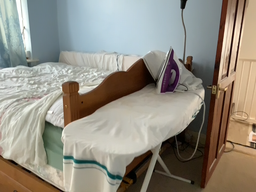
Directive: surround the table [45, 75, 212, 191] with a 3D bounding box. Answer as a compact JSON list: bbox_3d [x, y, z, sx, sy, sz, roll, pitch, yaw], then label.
[{"bbox_3d":[0.180,0.410,1.280,0.340,0.860,1.300,10,17,27],"label":"table"}]
